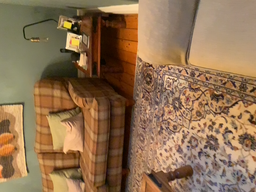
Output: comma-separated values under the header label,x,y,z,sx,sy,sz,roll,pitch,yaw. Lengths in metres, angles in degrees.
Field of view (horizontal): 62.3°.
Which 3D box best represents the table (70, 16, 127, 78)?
label,x,y,z,sx,sy,sz,roll,pitch,yaw
table,-0.370,-0.580,2.430,0.610,0.410,0.600,31,121,53
